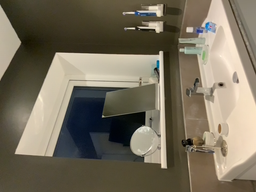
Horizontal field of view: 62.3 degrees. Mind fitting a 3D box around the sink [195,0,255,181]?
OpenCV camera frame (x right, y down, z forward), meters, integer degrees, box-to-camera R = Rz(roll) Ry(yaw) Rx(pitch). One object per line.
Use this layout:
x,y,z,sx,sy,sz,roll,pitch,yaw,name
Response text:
0.540,-0.130,1.160,0.470,0.130,1.010,87,-173,-53,sink
